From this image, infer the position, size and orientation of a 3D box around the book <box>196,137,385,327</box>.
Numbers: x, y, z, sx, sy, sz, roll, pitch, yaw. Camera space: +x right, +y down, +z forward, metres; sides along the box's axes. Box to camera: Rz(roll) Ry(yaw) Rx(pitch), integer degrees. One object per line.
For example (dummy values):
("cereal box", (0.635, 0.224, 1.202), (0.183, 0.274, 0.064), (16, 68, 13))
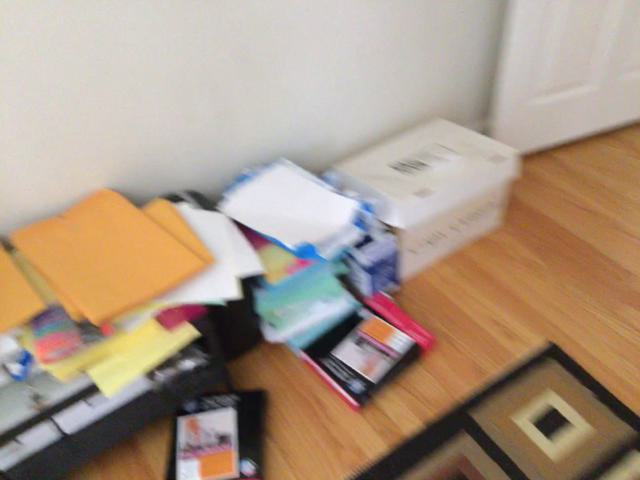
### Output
("book", (-0.080, -0.040, 1.530), (0.300, 0.220, 0.410), (-28, 45, -21))

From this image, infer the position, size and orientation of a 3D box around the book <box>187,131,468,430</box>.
("book", (0.010, 0.070, 1.530), (0.420, 0.380, 0.600), (-28, 45, -21))

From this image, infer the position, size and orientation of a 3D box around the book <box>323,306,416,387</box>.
("book", (0.130, 0.270, 1.500), (0.150, 0.010, 0.200), (27, 53, 33))

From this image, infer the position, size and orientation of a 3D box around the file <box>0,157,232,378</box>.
("file", (-0.460, 0.030, 1.270), (0.360, 0.130, 0.420), (-28, 45, -21))

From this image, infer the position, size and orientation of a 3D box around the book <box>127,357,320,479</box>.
("book", (-0.230, 0.490, 1.350), (0.320, 0.080, 0.340), (-28, 45, -21))
